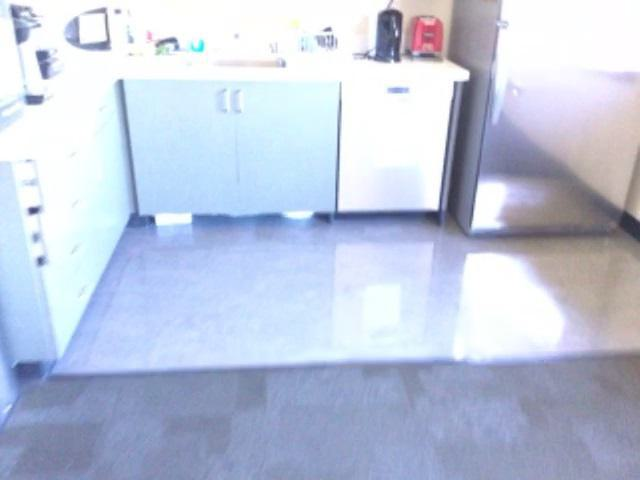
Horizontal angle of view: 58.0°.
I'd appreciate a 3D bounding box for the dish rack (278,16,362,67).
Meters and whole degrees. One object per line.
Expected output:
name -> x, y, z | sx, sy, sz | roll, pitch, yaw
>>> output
dish rack -> -0.010, -1.080, 3.130 | 0.400, 0.220, 0.370 | -4, 25, -7
